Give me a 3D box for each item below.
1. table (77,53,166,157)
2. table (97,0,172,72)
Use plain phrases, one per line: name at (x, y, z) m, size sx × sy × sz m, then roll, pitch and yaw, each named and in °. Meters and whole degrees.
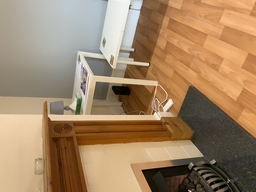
table at (-0.160, 0.070, 2.470) m, size 0.850 × 0.630 × 0.810 m, roll -123°, pitch 42°, yaw -51°
table at (0.040, -0.860, 2.330) m, size 0.610 × 0.460 × 0.990 m, roll -124°, pitch 43°, yaw -51°
